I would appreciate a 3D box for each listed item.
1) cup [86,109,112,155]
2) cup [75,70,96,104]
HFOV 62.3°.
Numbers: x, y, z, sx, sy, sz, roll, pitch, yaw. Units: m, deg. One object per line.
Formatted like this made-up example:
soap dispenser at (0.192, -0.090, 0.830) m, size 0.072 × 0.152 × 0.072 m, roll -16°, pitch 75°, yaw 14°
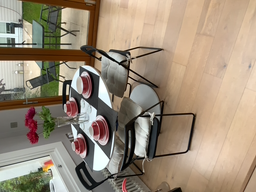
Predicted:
cup at (-0.260, 0.300, 1.830) m, size 0.280 × 0.080 × 0.280 m, roll 32°, pitch 121°, yaw 48°
cup at (-0.410, -0.090, 2.020) m, size 0.250 × 0.080 × 0.250 m, roll 33°, pitch 121°, yaw 47°
